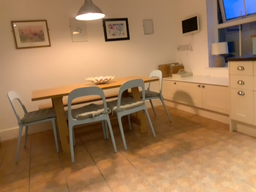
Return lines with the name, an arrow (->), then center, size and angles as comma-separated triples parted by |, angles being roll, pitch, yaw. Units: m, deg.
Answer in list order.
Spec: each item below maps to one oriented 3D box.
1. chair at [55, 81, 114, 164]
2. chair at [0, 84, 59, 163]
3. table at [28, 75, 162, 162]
chair -> -0.520, 0.260, 2.490 | 0.470, 0.790, 0.530 | -10, 12, -24
chair -> -1.190, 0.300, 2.620 | 0.490, 0.790, 0.480 | -9, 12, -20
table -> -0.450, 0.190, 2.950 | 1.600, 0.740, 0.800 | -10, 12, -24
